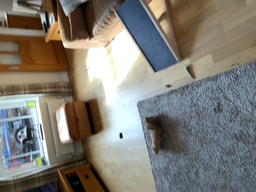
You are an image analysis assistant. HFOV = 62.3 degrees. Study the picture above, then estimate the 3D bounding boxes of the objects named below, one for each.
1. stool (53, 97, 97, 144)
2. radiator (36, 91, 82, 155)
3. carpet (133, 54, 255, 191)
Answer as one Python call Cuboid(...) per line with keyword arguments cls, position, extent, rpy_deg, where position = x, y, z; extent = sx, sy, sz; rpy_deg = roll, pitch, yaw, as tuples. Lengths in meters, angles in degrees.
Cuboid(cls="stool", position=(-0.900, 0.410, 3.550), extent=(0.520, 0.440, 0.610), rpy_deg=(-31, 71, 51))
Cuboid(cls="radiator", position=(-1.260, 0.460, 3.870), extent=(0.140, 0.580, 1.060), rpy_deg=(-32, 71, 51))
Cuboid(cls="carpet", position=(0.700, 0.480, 1.700), extent=(1.690, 0.040, 1.280), rpy_deg=(-25, 76, 52))
